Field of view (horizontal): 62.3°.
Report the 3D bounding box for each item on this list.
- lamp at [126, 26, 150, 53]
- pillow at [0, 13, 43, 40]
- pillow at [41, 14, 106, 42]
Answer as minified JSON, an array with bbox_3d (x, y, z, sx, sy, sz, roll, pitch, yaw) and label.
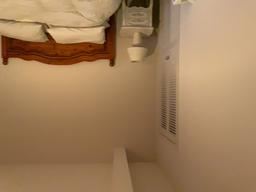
[{"bbox_3d":[0.130,-0.760,2.880,0.300,0.280,0.280,0,-179,-4],"label":"lamp"},{"bbox_3d":[-1.430,-0.860,2.670,0.570,0.200,0.430,0,-179,-3],"label":"pillow"},{"bbox_3d":[-0.660,-0.850,2.700,0.740,0.200,0.420,0,-179,-7],"label":"pillow"}]
